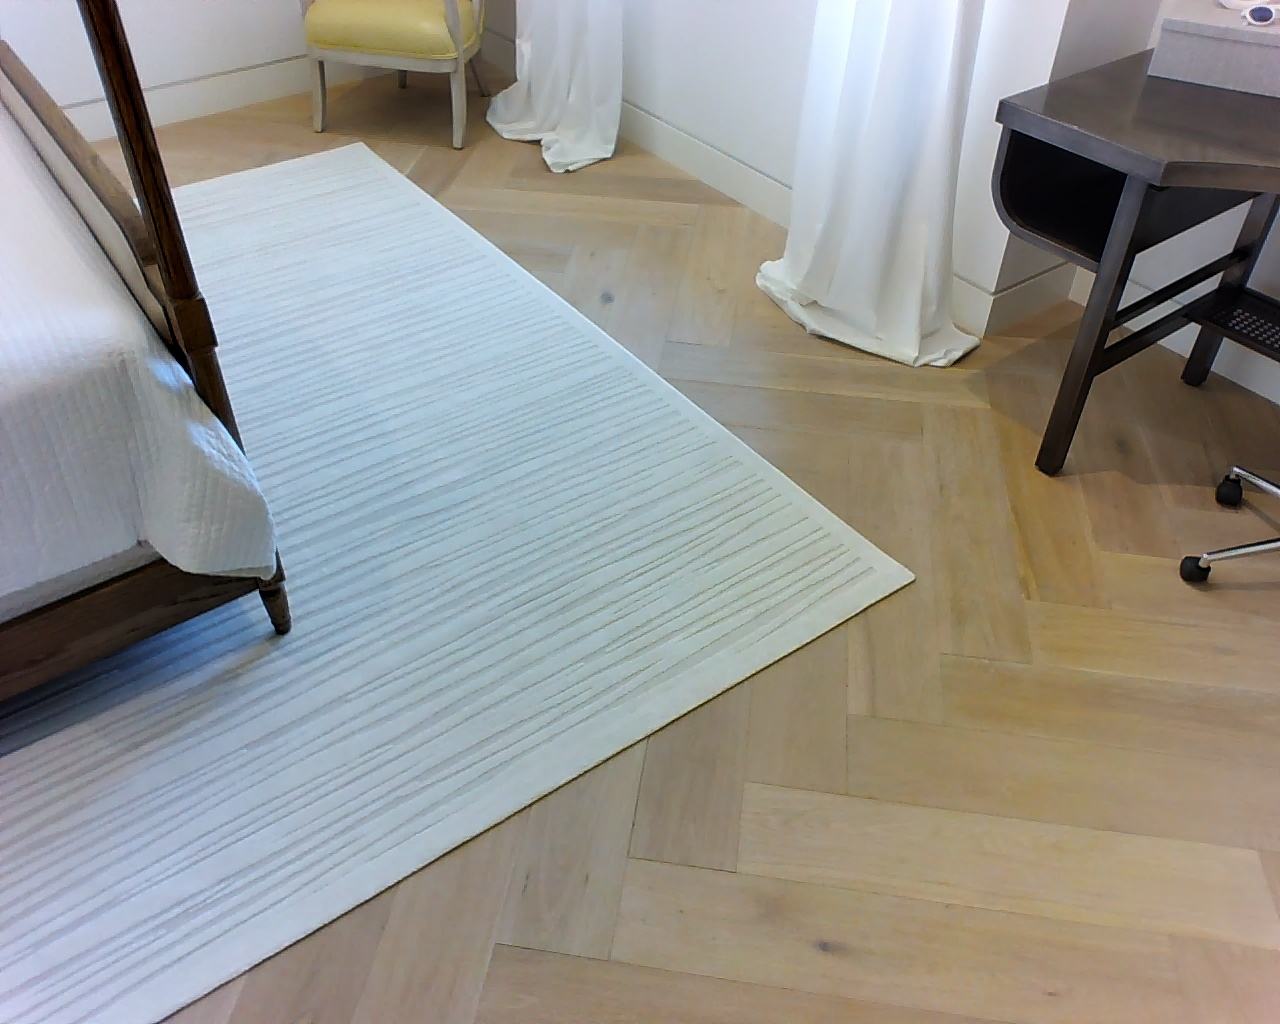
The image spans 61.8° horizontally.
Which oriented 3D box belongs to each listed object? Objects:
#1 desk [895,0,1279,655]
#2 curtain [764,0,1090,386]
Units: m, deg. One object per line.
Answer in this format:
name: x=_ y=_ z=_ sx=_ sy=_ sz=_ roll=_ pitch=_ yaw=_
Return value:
desk: x=1.650 y=-0.240 z=2.160 sx=0.880 sy=0.890 sz=2.060 roll=-26 pitch=47 yaw=-26
curtain: x=0.720 y=-1.640 z=2.300 sx=0.370 sy=2.810 sz=0.620 roll=-25 pitch=47 yaw=-26
